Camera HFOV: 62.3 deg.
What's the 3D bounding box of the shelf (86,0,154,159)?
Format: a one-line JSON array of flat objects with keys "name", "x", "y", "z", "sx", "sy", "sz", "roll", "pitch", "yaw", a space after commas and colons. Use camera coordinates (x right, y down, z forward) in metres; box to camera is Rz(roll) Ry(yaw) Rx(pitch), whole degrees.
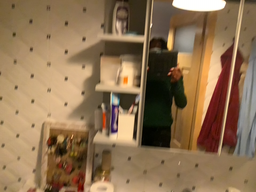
[{"name": "shelf", "x": -0.030, "y": -0.100, "z": 0.900, "sx": 0.220, "sy": 0.670, "sz": 0.200, "roll": 5, "pitch": 12, "yaw": 3}]
